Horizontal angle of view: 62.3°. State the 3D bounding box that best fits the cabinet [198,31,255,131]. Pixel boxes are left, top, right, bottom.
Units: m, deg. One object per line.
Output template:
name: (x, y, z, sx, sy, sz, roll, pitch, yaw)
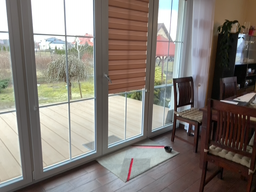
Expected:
cabinet: (2.050, -0.340, 4.210, 1.350, 1.720, 0.470, -10, 18, -41)
